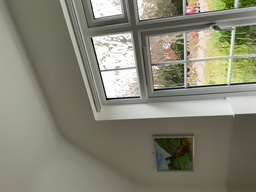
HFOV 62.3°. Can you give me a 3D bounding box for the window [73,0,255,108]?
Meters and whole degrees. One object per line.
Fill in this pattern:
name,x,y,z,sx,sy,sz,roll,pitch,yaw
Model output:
window,0.330,-0.600,1.320,0.100,1.350,1.480,-75,-21,-58
